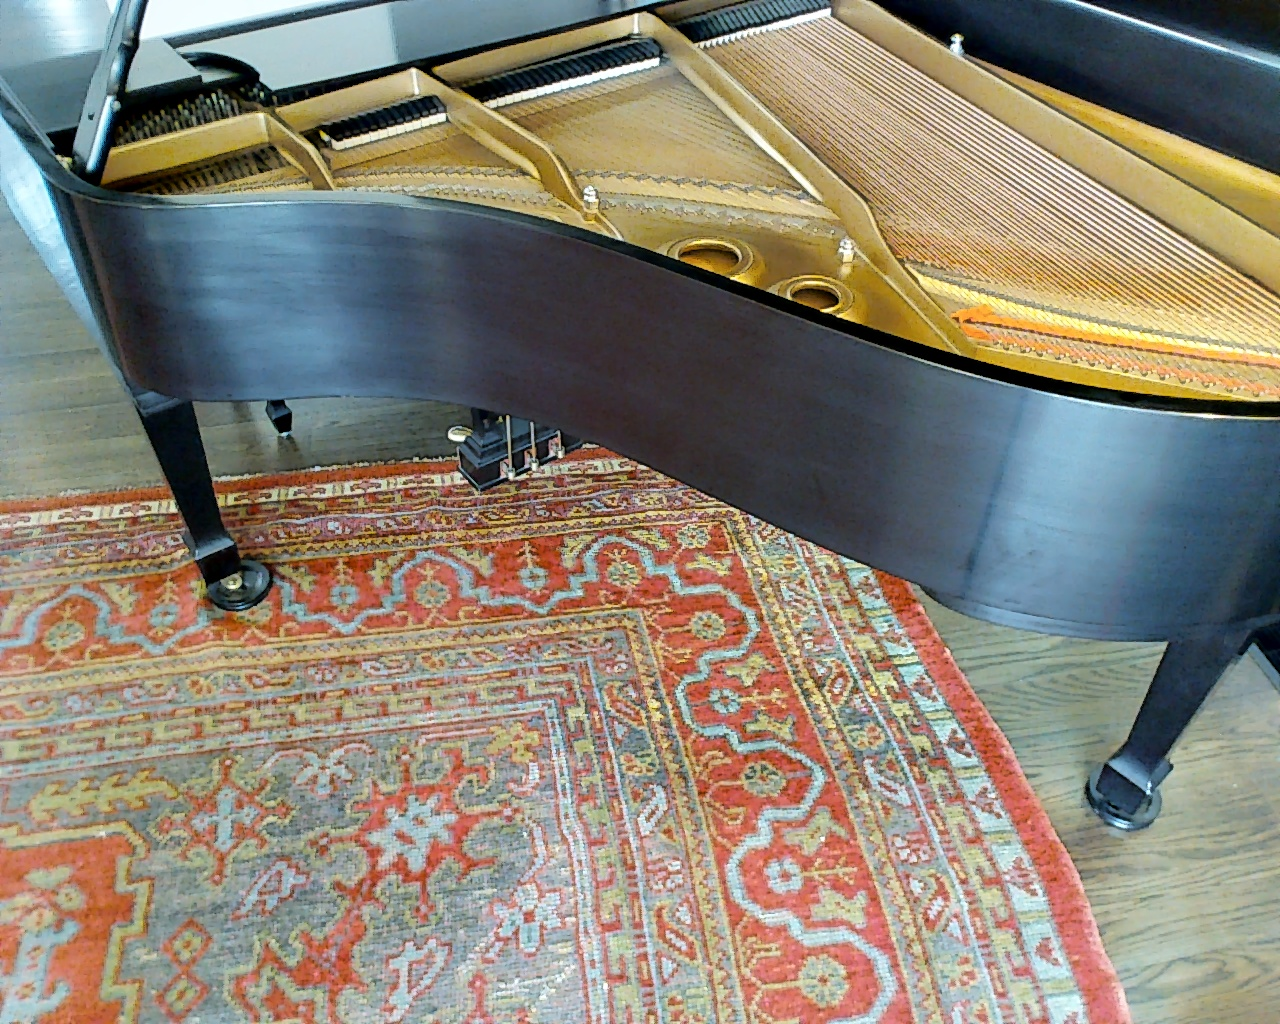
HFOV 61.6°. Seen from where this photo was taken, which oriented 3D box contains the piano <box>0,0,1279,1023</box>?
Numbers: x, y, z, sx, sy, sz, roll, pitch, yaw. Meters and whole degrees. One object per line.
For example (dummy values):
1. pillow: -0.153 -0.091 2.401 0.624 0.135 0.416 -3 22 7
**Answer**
1. piano: 0.040 -0.280 1.640 1.540 1.120 1.750 -27 50 -28
